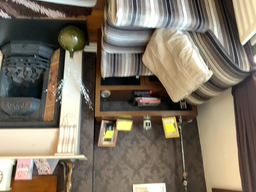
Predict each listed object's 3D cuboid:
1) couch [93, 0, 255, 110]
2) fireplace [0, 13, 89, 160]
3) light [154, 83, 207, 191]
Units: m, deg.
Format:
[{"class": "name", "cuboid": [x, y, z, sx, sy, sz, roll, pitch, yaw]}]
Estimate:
[{"class": "couch", "cuboid": [0.210, -0.420, 1.570, 0.860, 0.830, 0.770, 3, 159, -12]}, {"class": "fireplace", "cuboid": [-1.070, -0.060, 1.910, 1.320, 1.190, 0.580, 0, 160, -4]}, {"class": "light", "cuboid": [0.480, 0.500, 1.940, 0.230, 1.160, 0.360, -20, 153, 41]}]
